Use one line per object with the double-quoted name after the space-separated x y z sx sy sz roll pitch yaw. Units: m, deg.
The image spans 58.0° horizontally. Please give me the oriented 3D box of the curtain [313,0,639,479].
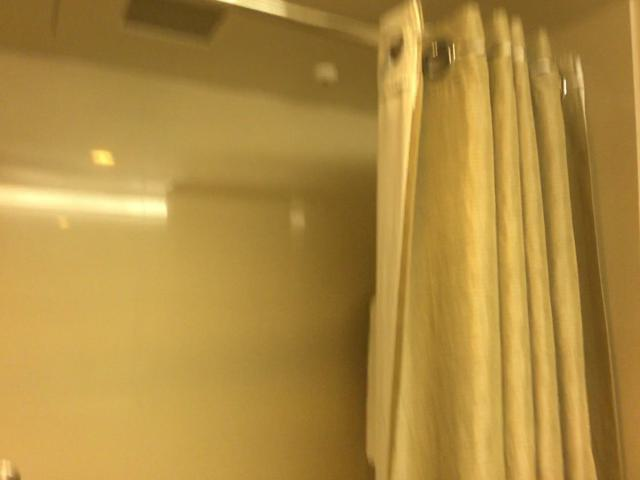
0.310 0.610 0.810 0.580 2.030 0.250 3 -8 -25 "curtain"
